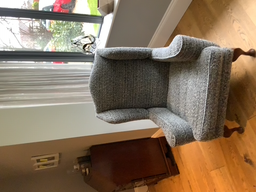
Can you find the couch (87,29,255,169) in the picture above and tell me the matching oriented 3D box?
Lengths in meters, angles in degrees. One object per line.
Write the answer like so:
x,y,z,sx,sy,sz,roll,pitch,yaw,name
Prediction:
0.270,-0.080,1.820,0.880,1.060,0.830,-149,59,-63,couch
